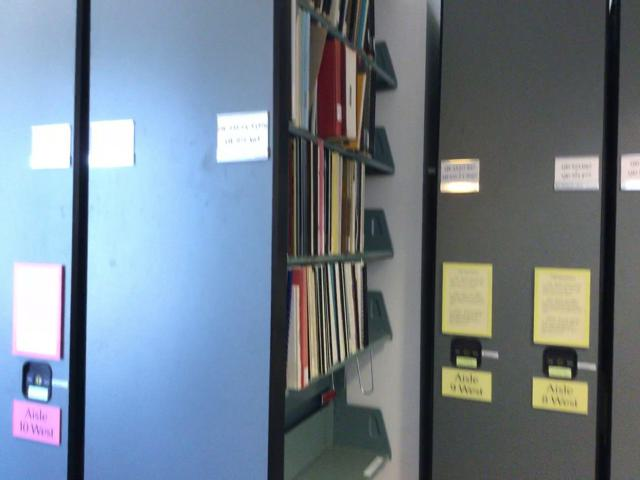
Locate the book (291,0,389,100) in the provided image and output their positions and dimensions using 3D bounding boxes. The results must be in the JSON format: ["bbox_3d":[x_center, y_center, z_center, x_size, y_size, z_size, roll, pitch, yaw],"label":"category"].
[{"bbox_3d":[0.070,-0.690,1.620,0.070,0.440,0.570,-3,-4,23],"label":"book"}]

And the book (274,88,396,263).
[{"bbox_3d":[0.070,-0.130,1.580,0.090,0.380,0.650,-3,-4,23],"label":"book"}]

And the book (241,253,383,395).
[{"bbox_3d":[0.010,0.200,1.590,0.130,0.310,0.650,-3,-4,23],"label":"book"}]

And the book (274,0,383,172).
[{"bbox_3d":[0.040,-0.390,1.500,0.100,0.350,0.480,-3,-4,23],"label":"book"}]
